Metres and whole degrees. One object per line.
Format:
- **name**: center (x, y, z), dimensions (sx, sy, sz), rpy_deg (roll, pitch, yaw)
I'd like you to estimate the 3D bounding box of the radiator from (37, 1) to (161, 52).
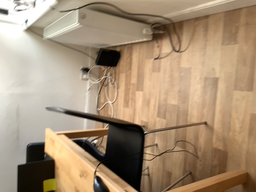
- **radiator**: center (-0.330, -0.550, 1.910), dimensions (1.050, 0.690, 0.120), rpy_deg (8, 95, 54)
